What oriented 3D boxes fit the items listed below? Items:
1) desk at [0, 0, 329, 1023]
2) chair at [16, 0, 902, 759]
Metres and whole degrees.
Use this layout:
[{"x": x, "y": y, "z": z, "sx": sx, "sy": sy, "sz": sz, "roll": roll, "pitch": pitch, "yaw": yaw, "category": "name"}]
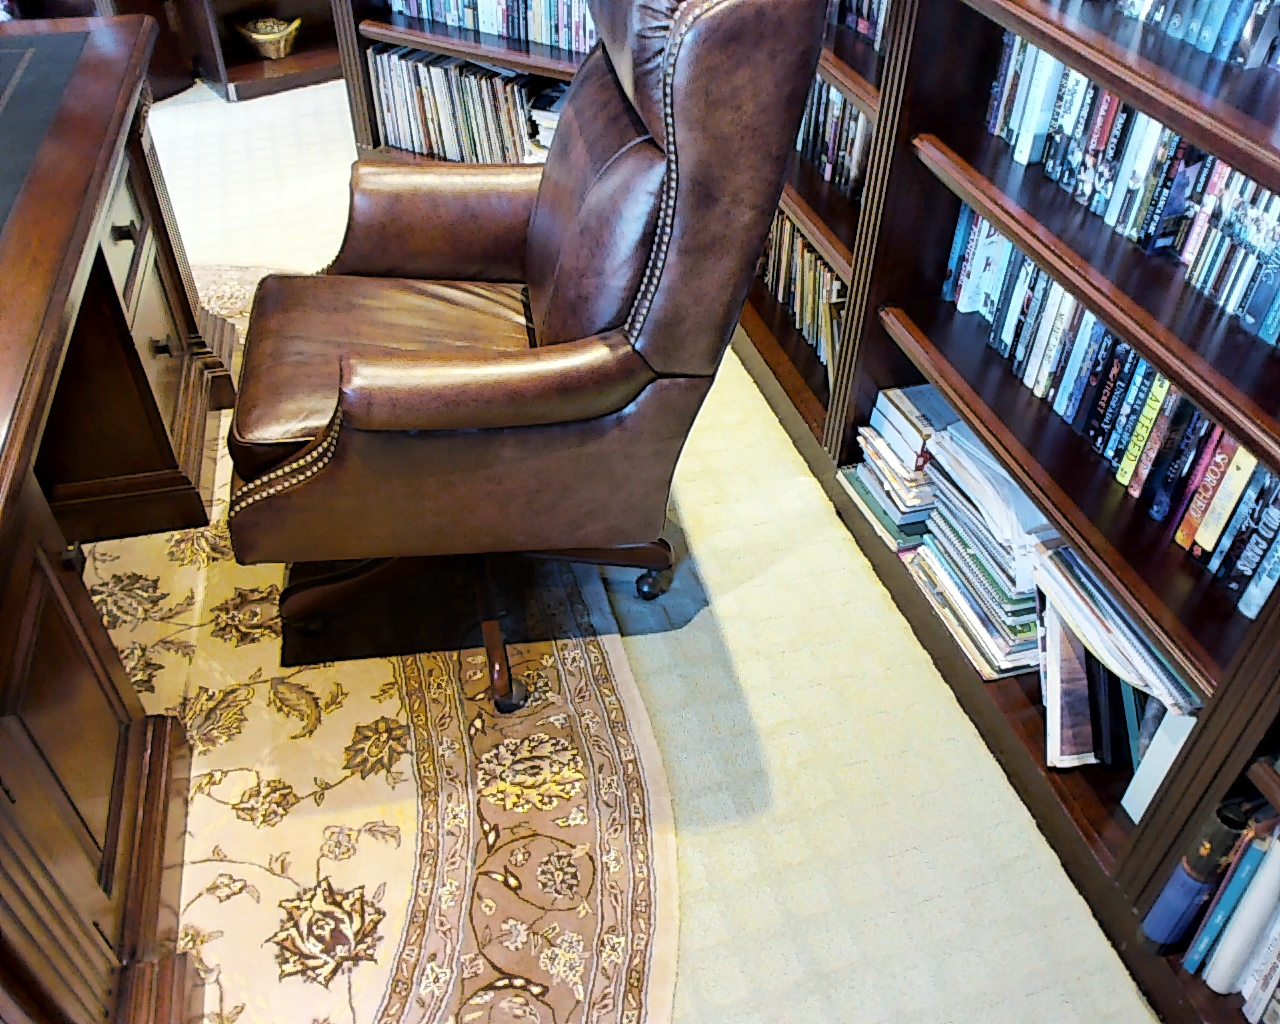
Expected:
[{"x": -1.170, "y": -0.040, "z": 1.570, "sx": 1.140, "sy": 0.780, "sz": 1.900, "roll": -10, "pitch": 43, "yaw": -13, "category": "desk"}, {"x": -0.240, "y": -0.350, "z": 1.680, "sx": 0.870, "sy": 1.150, "sz": 0.760, "roll": -9, "pitch": 42, "yaw": -12, "category": "chair"}]
